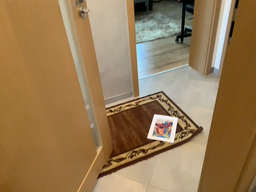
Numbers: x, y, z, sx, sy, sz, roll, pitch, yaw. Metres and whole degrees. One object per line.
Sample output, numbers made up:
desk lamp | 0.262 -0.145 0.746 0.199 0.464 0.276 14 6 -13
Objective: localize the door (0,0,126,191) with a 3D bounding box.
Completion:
door | -0.310 -0.190 0.740 0.140 2.120 1.100 5 37 15
